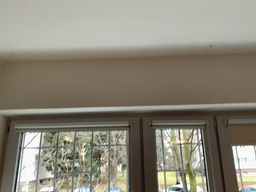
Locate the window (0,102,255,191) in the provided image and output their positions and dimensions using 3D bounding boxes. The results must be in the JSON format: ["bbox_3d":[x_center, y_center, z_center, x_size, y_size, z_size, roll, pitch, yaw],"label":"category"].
[{"bbox_3d":[0.360,0.650,1.280,2.440,1.220,0.160,-1,-17,0],"label":"window"}]
